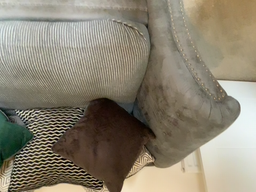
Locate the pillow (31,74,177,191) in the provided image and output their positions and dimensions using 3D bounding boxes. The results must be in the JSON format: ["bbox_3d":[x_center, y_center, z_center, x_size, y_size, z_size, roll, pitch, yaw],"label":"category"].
[{"bbox_3d":[-0.110,0.280,1.210,0.510,0.570,0.330,29,148,8],"label":"pillow"}]

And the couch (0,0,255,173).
[{"bbox_3d":[-0.440,-0.010,1.290,1.680,0.750,1.100,0,153,-4],"label":"couch"}]
